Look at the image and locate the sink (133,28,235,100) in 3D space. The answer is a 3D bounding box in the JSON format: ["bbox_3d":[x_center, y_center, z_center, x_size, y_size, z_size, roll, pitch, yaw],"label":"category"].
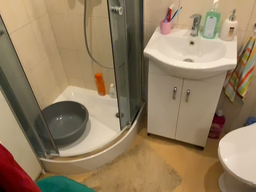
[{"bbox_3d":[0.340,-0.220,1.290,0.520,0.190,0.380,12,43,17],"label":"sink"}]

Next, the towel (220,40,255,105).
[{"bbox_3d":[0.740,-0.140,1.410,0.140,0.450,0.080,10,42,15],"label":"towel"}]

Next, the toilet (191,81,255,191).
[{"bbox_3d":[0.820,0.290,1.250,0.670,0.730,0.380,-20,43,-18],"label":"toilet"}]
